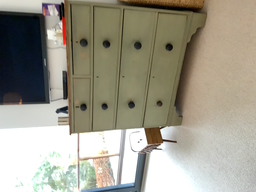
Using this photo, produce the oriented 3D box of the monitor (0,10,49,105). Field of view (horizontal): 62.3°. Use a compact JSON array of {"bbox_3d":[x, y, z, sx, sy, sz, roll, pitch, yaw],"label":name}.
[{"bbox_3d":[-1.040,-0.320,1.970,0.020,0.530,0.880,-125,36,-60],"label":"monitor"}]
